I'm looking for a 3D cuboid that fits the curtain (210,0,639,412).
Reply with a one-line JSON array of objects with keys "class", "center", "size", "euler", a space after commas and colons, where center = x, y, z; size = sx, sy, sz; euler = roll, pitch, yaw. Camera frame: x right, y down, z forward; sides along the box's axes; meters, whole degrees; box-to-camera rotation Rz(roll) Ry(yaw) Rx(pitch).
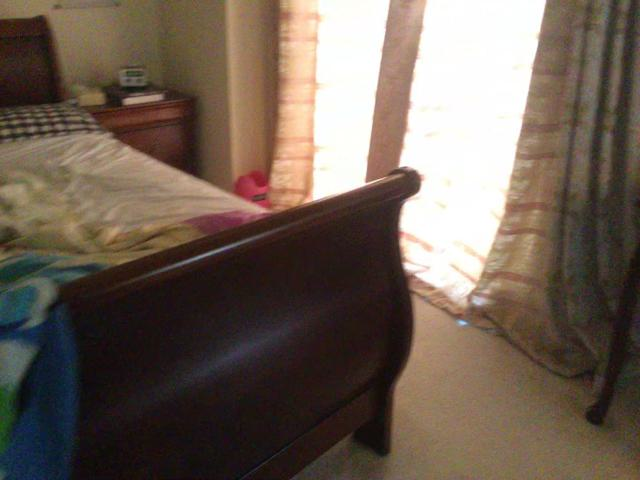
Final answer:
[{"class": "curtain", "center": [0.370, -0.900, 2.150], "size": [0.470, 2.350, 2.040], "euler": [-21, 31, -40]}]
